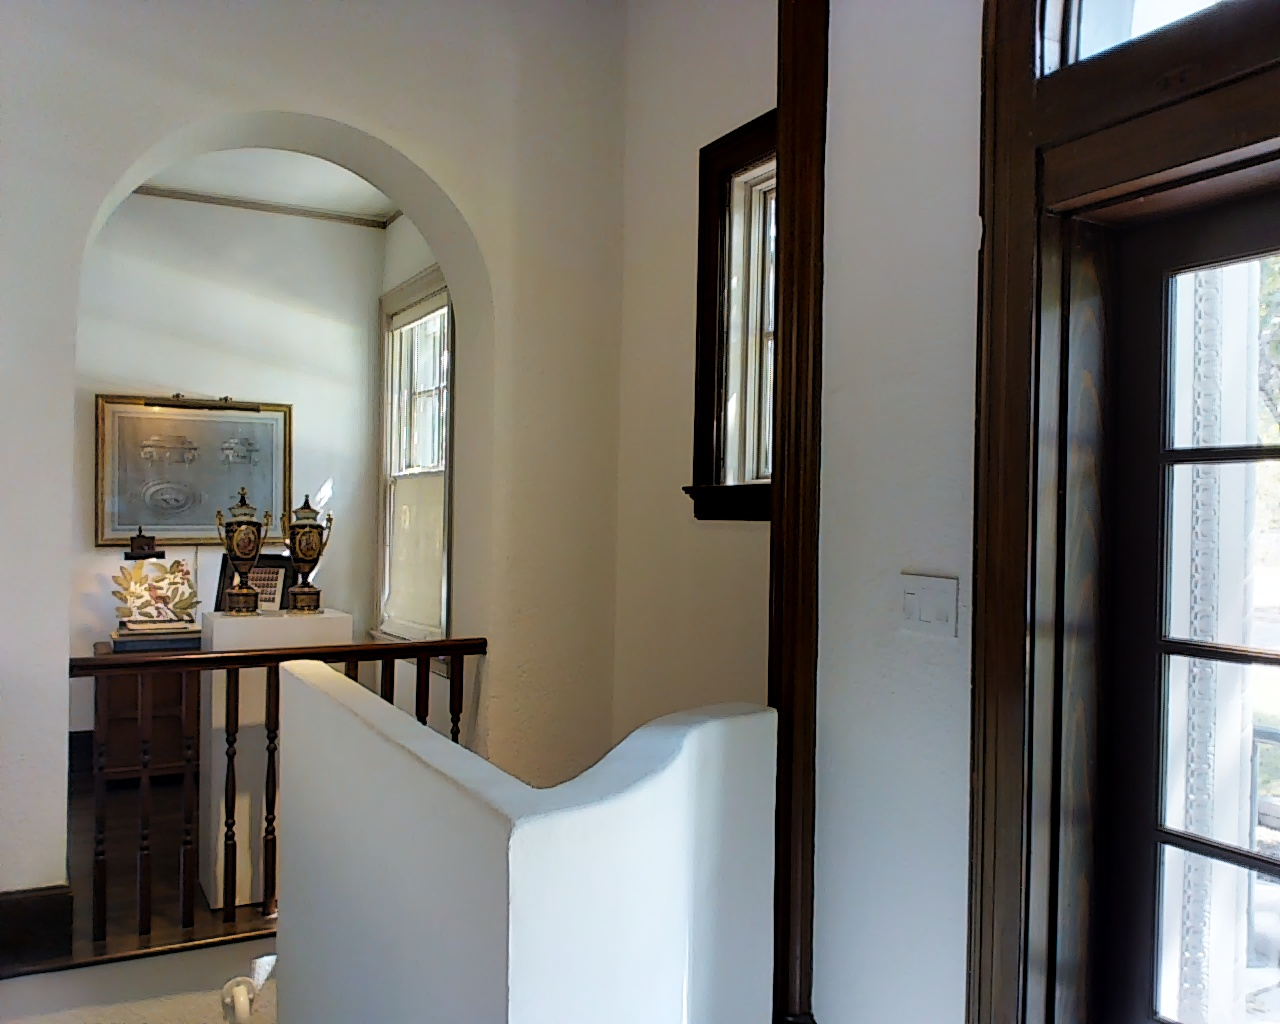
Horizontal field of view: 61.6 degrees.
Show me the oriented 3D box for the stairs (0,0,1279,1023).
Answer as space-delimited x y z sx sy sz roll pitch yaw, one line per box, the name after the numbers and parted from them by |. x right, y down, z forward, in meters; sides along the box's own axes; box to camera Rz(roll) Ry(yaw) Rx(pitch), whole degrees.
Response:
0.350 -0.350 0.950 2.150 3.630 3.430 1 0 -29 | stairs
